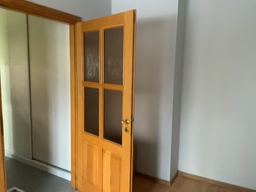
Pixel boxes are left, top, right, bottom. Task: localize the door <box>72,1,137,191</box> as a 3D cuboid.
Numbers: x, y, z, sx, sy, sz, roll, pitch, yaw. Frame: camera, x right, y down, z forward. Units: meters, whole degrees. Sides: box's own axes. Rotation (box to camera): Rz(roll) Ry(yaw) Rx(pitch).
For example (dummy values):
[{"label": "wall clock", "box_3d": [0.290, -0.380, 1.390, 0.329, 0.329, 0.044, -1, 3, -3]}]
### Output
[{"label": "door", "box_3d": [-0.320, 0.210, 2.350, 0.070, 2.180, 1.030, -6, 10, -43]}]
